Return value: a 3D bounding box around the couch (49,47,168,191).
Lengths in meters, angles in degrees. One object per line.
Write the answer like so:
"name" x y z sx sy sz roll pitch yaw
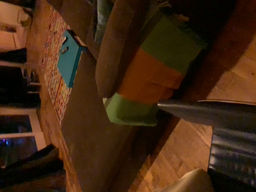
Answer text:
"couch" -0.380 0.320 2.390 1.330 0.490 1.180 52 128 41

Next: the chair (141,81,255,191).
"chair" 0.570 0.290 0.830 0.640 0.780 0.610 11 97 53
